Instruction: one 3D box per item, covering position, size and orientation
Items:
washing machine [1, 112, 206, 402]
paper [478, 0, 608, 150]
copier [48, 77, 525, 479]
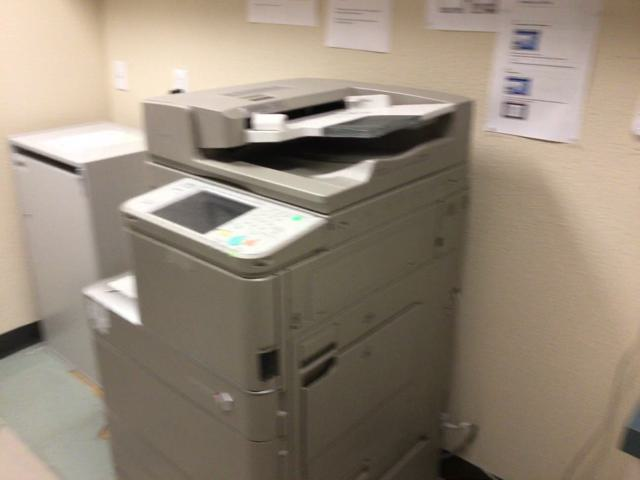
[{"bbox_3d":[-0.810,0.020,2.220,0.590,0.910,0.430,19,25,37],"label":"washing machine"},{"bbox_3d":[0.480,-0.460,1.230,0.220,0.500,0.040,19,25,37],"label":"paper"},{"bbox_3d":[-0.080,0.250,1.440,0.720,1.190,0.720,19,25,37],"label":"copier"}]
